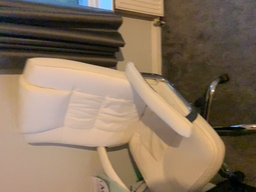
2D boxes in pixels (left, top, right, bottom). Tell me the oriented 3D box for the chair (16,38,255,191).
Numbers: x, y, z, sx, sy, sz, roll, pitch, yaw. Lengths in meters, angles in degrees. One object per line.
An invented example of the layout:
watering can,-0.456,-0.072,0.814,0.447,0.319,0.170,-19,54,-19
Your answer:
chair,0.110,0.230,1.170,0.820,1.160,0.670,54,135,35
